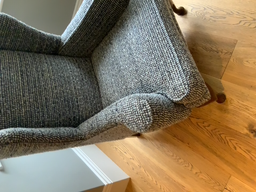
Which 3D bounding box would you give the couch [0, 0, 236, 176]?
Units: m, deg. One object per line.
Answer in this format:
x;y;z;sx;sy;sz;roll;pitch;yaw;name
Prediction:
-0.200;-0.150;1.110;0.880;1.060;0.830;-30;67;36;couch
